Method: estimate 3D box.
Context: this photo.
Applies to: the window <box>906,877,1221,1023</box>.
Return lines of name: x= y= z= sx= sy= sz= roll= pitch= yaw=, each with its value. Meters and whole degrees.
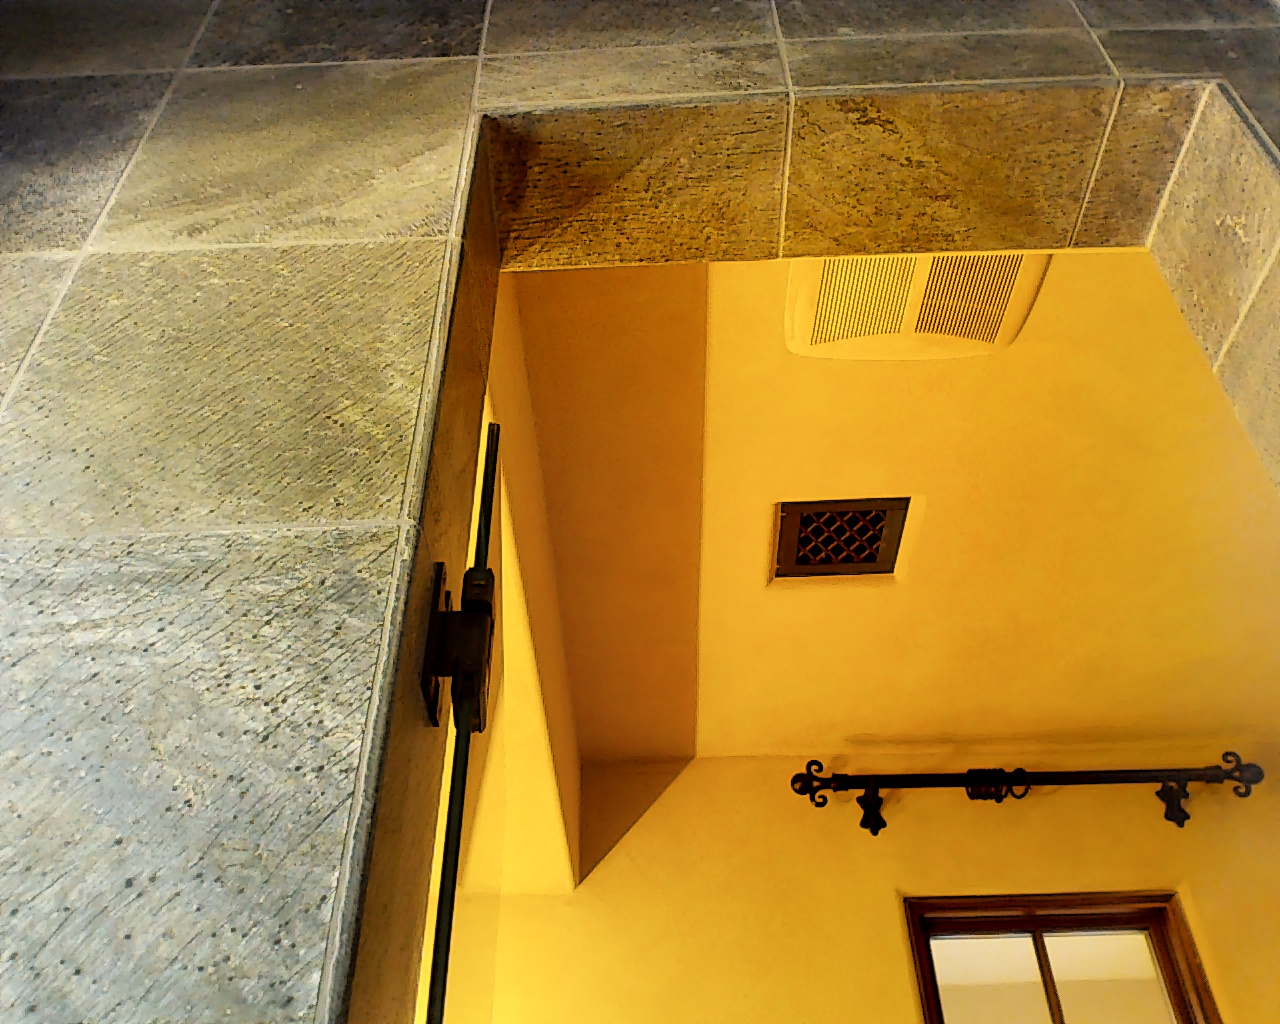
window: x=0.900 y=1.160 z=2.150 sx=0.570 sy=0.820 sz=0.100 roll=-1 pitch=-41 yaw=1
